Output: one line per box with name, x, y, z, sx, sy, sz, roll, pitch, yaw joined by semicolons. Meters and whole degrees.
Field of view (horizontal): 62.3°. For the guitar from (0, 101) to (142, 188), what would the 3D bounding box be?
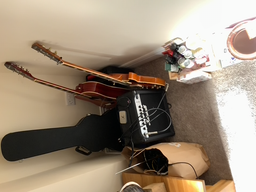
guitar;-0.400;0.300;1.620;0.360;1.040;0.400;-17;80;44
